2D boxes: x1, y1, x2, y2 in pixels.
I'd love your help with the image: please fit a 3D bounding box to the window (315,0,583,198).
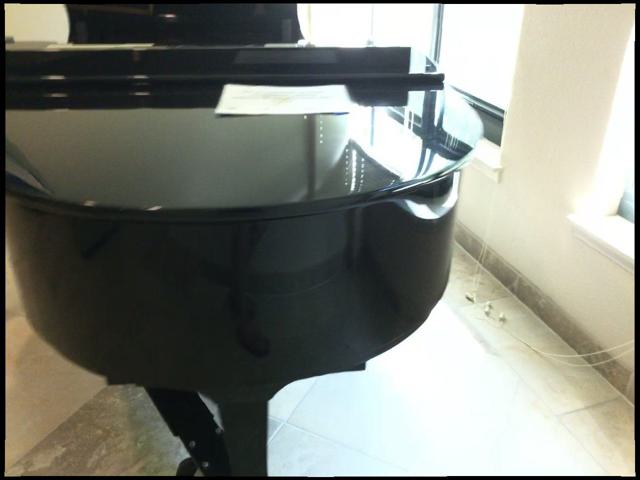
[{"bbox_3d":[0.459,-0.992,2.930,0.419,0.821,1.810,-10,32,-16],"label":"window"}]
